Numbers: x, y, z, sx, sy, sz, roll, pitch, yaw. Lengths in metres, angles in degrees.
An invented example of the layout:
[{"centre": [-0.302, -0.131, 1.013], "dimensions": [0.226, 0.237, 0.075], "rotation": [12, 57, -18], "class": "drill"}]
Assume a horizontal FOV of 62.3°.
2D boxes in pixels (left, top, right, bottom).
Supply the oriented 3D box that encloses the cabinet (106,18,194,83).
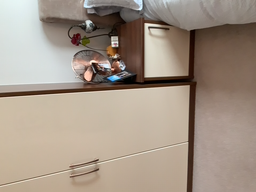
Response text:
[{"centre": [0.180, -0.390, 1.950], "dimensions": [0.590, 0.550, 0.470], "rotation": [14, 107, 60], "class": "cabinet"}]
